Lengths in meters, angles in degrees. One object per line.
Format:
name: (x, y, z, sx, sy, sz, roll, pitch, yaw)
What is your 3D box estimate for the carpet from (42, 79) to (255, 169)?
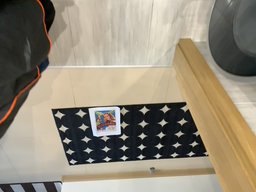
carpet: (0.190, 0.260, 1.650, 1.460, 0.100, 0.720, -6, 131, 0)
